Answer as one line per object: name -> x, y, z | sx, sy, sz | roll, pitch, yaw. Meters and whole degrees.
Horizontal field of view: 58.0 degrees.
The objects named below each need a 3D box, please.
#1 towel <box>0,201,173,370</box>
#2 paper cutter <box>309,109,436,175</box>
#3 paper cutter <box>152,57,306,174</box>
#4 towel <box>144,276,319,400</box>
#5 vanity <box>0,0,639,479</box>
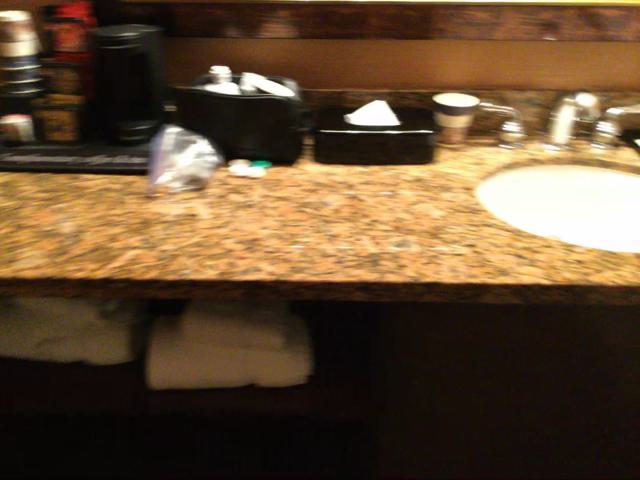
towel -> -0.490, 0.080, 1.180 | 0.280, 0.160, 0.340 | -1, 34, 1
paper cutter -> 0.100, -0.200, 1.170 | 0.240, 0.080, 0.130 | -1, 34, 1
paper cutter -> -0.170, -0.260, 1.190 | 0.270, 0.160, 0.210 | -1, 34, 1
towel -> -0.150, 0.180, 1.090 | 0.290, 0.120, 0.200 | -1, 34, 1
vanity -> -0.190, 0.140, 1.210 | 2.160, 1.110, 0.620 | -1, 34, 1
